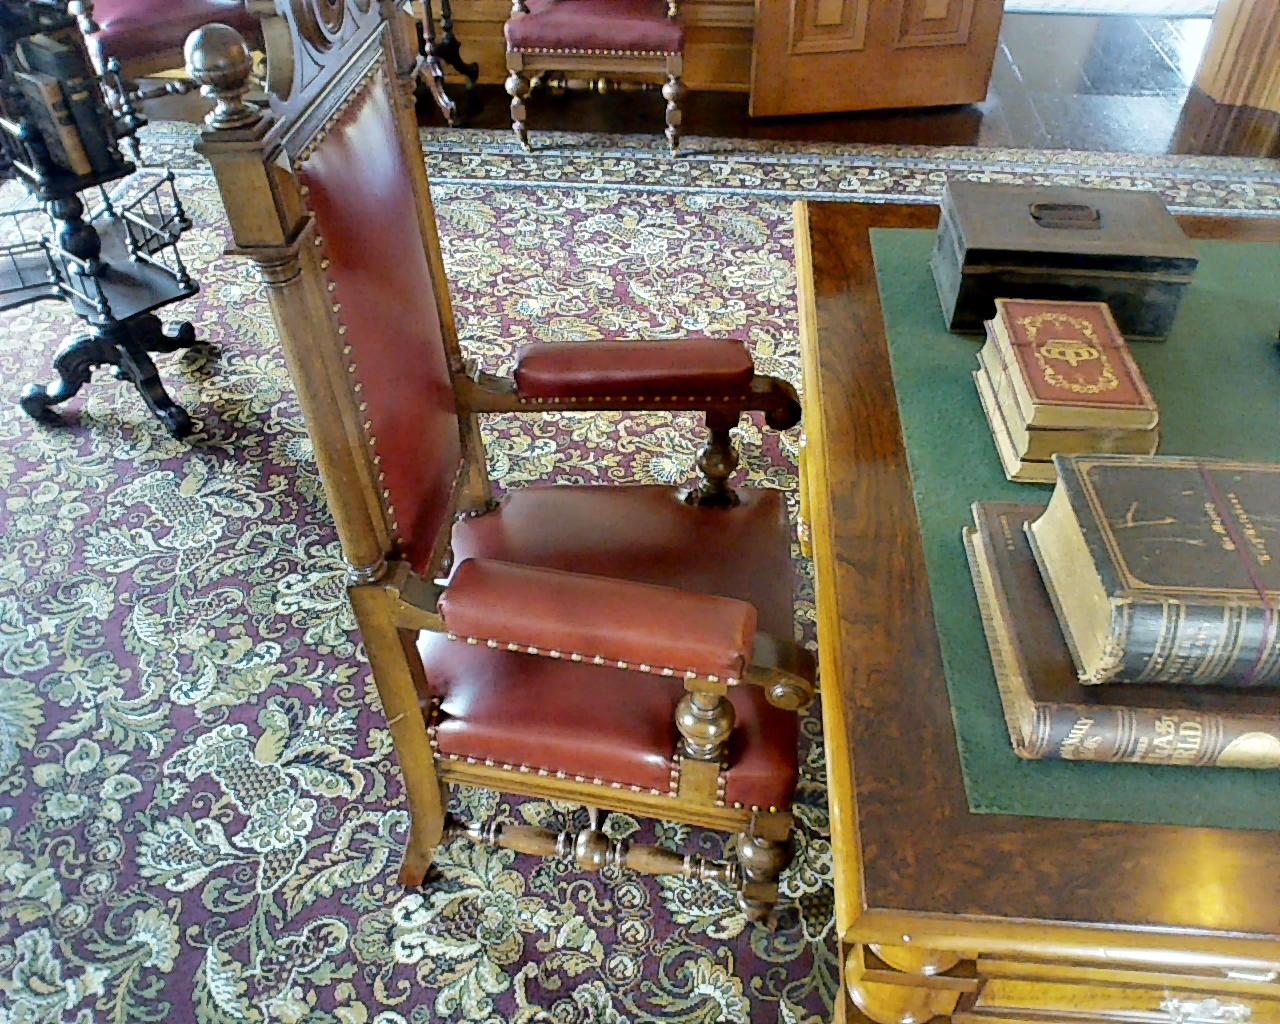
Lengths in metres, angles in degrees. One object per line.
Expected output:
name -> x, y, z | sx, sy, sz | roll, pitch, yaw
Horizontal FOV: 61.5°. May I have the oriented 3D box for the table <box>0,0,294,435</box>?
table -> -1.270, -0.840, 2.320 | 0.610, 1.230, 0.550 | 4, 43, 4
